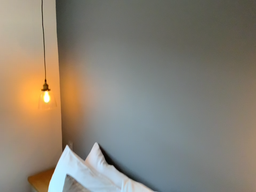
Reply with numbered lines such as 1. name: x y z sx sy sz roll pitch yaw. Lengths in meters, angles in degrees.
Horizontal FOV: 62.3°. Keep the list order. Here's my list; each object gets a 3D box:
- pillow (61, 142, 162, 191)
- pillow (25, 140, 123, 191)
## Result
1. pillow: -0.130 0.580 1.300 0.190 0.370 0.730 -18 17 -39
2. pillow: -0.300 0.560 1.250 0.250 0.380 0.610 -35 28 -33
